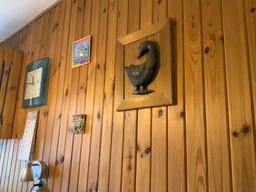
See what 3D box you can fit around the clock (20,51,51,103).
[{"bbox_3d":[-0.620,-0.120,1.410,0.280,0.300,0.030,-9,-17,39],"label":"clock"}]
